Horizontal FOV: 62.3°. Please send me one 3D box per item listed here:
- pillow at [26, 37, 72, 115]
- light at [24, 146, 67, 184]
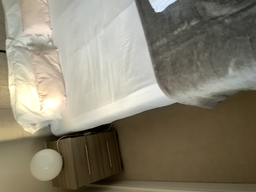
[{"bbox_3d":[-0.670,-0.180,1.780,0.140,0.250,0.630,-42,60,56],"label":"pillow"},{"bbox_3d":[-0.680,0.560,1.740,0.280,0.210,0.240,-19,79,44],"label":"light"}]
